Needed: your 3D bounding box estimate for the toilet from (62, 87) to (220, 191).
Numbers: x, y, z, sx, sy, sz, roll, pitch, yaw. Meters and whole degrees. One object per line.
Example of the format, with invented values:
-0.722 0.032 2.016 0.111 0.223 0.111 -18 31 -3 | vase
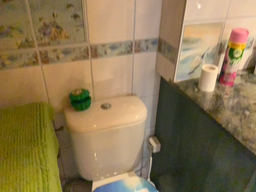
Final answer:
-0.020 0.490 0.980 0.390 0.780 0.680 -10 34 -17 | toilet
